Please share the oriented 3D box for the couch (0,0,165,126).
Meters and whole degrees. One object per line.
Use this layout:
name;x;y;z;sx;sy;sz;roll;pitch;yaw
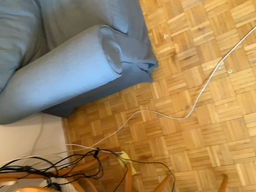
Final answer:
couch;-0.480;-0.460;1.230;0.900;0.800;1.070;-20;79;27
